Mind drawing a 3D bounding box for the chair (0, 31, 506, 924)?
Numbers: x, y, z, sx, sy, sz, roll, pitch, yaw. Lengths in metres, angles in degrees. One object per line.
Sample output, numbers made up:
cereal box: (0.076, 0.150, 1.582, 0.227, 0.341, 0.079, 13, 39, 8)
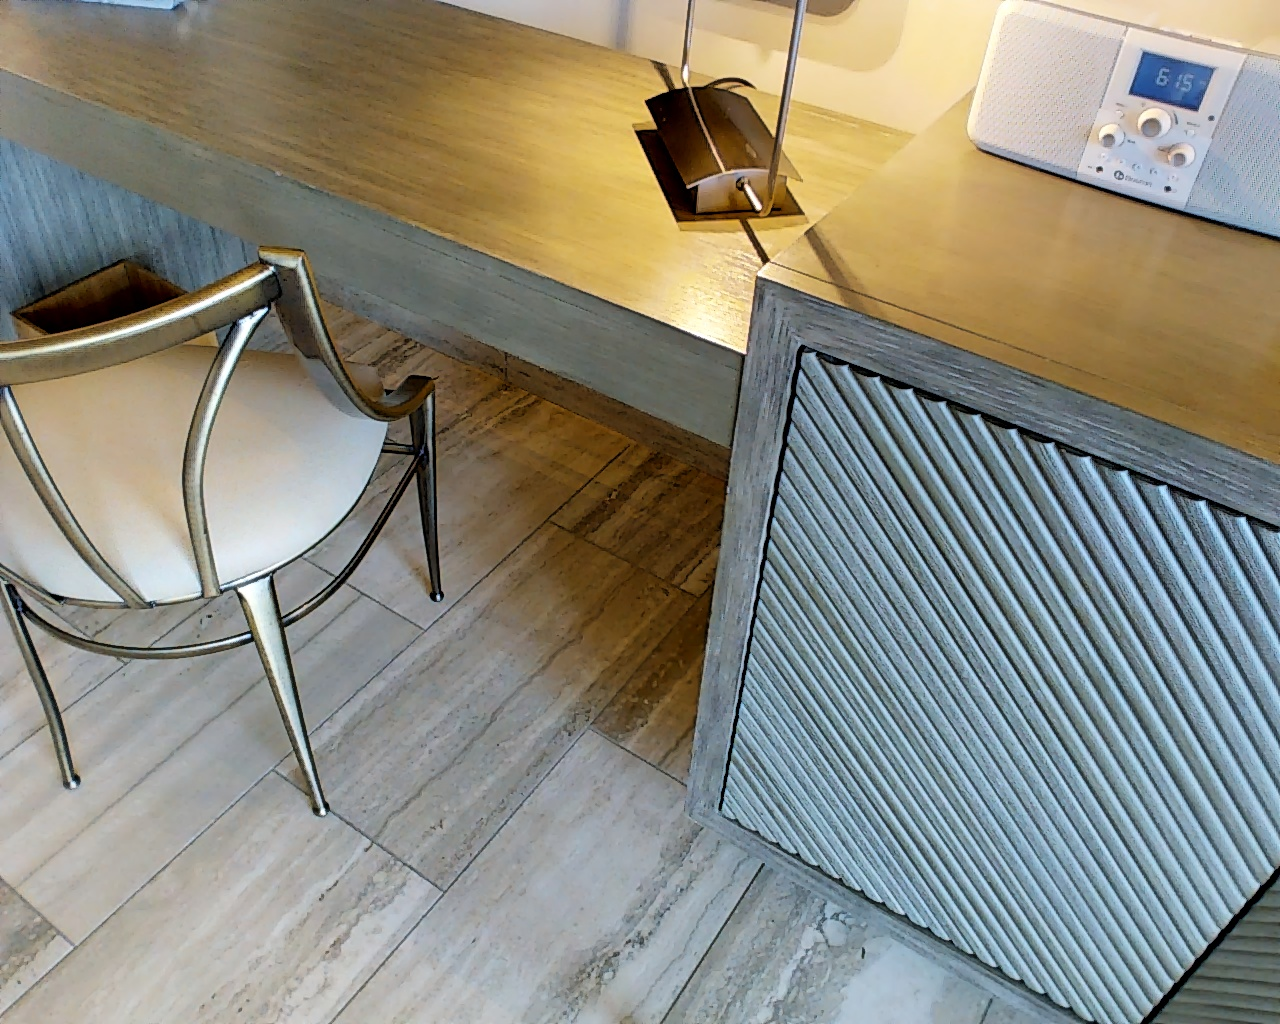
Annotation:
chair: (-0.540, -0.030, 1.250, 0.610, 0.790, 0.570, 8, 43, 5)
